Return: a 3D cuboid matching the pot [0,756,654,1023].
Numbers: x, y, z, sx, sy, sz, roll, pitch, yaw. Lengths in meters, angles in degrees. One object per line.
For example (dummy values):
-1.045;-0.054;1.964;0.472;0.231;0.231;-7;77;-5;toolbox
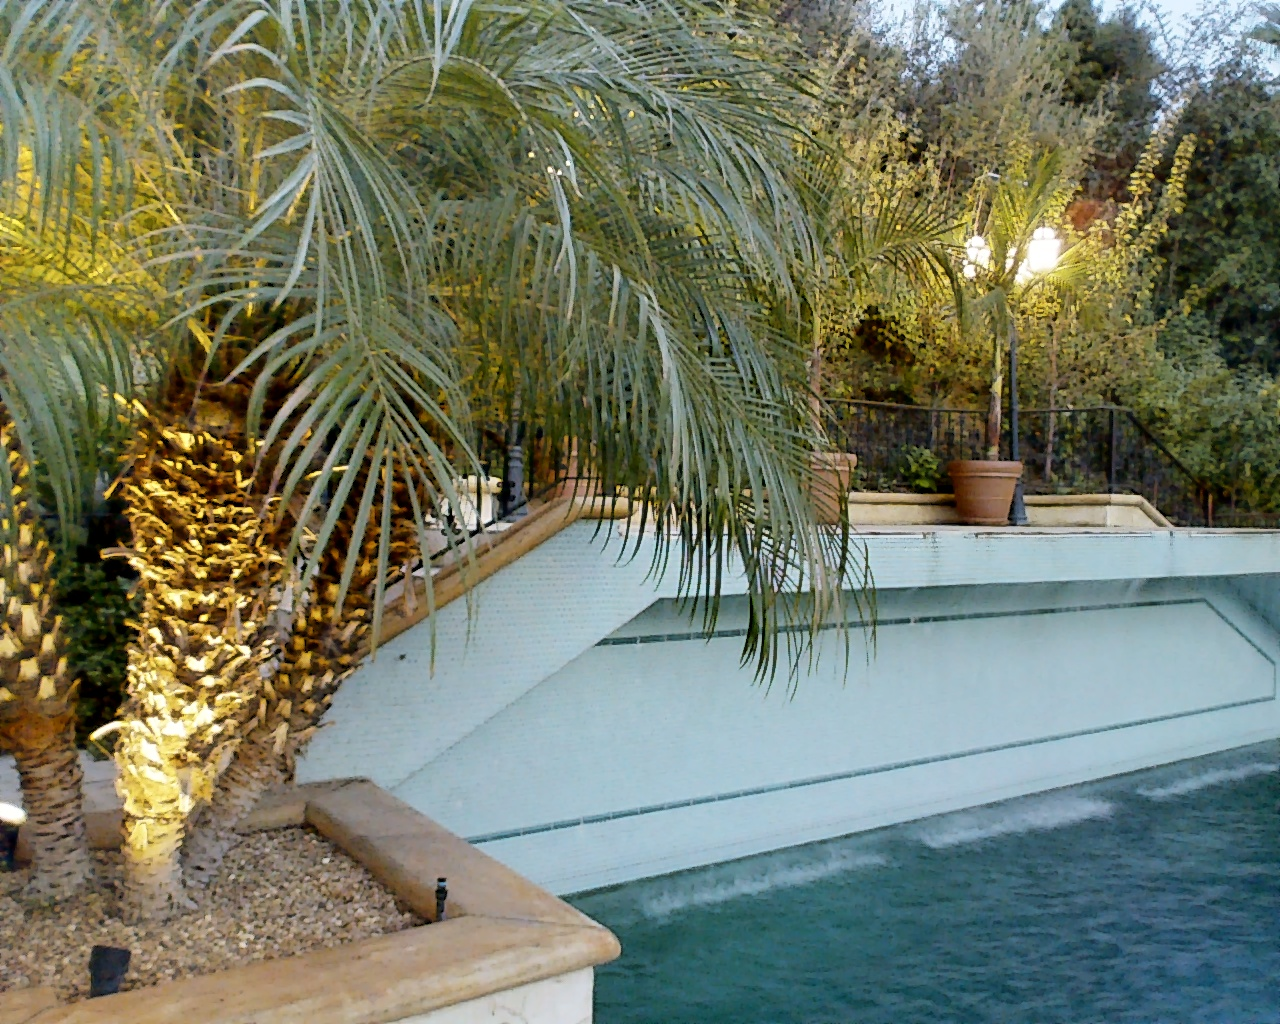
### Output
-1.120;1.240;2.560;1.700;0.790;1.580;0;0;-34;pot
